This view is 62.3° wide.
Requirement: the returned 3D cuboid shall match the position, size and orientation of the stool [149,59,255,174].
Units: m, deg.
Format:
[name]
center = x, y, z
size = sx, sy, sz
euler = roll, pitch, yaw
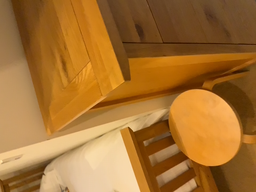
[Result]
[stool]
center = 0.460, 0.080, 1.100
size = 0.380, 0.470, 0.350
euler = 60, 138, 23
